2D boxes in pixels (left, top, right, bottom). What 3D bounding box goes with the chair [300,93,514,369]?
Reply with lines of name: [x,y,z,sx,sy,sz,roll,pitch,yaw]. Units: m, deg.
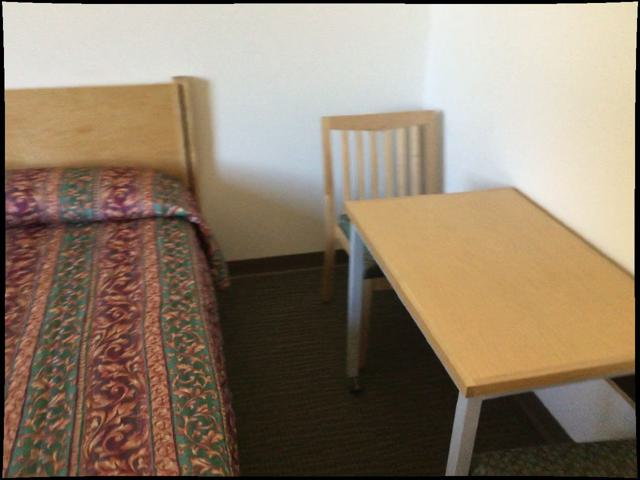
chair: [0.290,-0.080,2.450,0.579,0.841,0.780,-7,31,-12]
